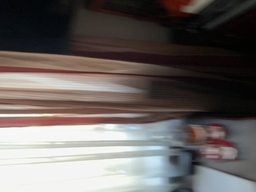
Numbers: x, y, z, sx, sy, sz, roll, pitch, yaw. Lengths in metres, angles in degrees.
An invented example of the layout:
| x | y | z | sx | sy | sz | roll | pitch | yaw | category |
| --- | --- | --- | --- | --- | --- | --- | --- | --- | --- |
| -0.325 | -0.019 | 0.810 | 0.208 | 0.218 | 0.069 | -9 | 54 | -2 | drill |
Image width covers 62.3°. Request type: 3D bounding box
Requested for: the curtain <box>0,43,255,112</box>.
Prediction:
| x | y | z | sx | sy | sz | roll | pitch | yaw | category |
| --- | --- | --- | --- | --- | --- | --- | --- | --- | --- |
| -0.240 | -0.060 | 1.050 | 0.260 | 2.700 | 0.260 | 180 | 92 | -67 | curtain |

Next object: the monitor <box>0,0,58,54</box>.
| x | y | z | sx | sy | sz | roll | pitch | yaw | category |
| --- | --- | --- | --- | --- | --- | --- | --- | --- | --- |
| -0.520 | -0.540 | 0.950 | 0.040 | 0.410 | 0.660 | 54 | 130 | 48 | monitor |
